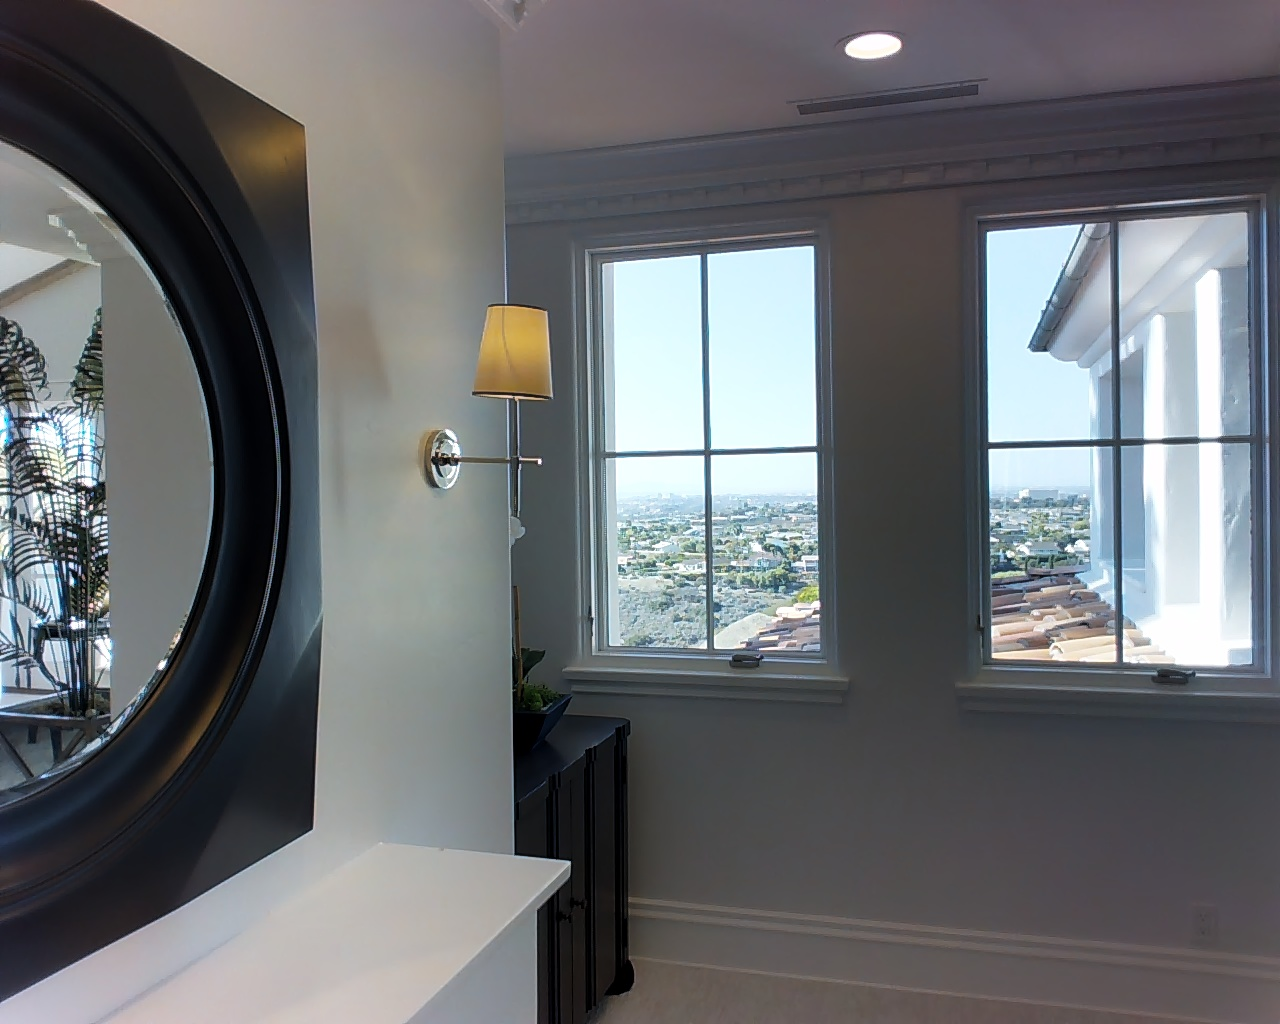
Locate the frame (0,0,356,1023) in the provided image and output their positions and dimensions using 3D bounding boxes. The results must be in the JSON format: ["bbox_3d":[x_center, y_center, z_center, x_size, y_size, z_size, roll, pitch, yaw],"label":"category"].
[{"bbox_3d":[-0.600,-0.010,0.970,0.070,1.060,1.100,-1,1,17],"label":"frame"}]
